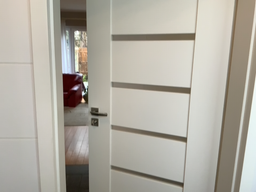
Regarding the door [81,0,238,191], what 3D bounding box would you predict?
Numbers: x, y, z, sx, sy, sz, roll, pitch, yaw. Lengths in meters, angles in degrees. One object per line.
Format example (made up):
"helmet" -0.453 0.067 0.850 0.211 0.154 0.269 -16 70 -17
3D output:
"door" 0.100 0.260 1.280 0.840 2.040 0.060 6 12 23
